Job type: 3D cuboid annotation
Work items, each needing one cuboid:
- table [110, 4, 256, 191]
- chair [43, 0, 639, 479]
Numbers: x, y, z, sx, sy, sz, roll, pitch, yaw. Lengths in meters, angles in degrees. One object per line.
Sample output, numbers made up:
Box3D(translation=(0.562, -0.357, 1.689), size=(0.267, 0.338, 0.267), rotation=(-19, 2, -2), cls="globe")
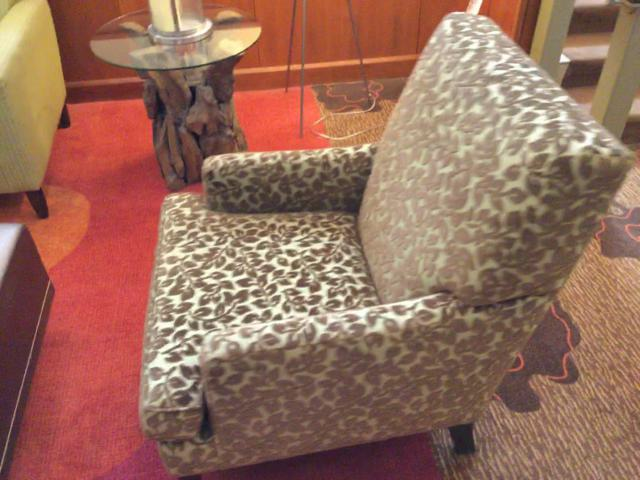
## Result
Box3D(translation=(-0.540, -0.590, 2.380), size=(0.490, 0.590, 0.450), rotation=(-5, 41, -11), cls="table")
Box3D(translation=(0.010, 0.010, 1.440), size=(0.910, 0.960, 0.800), rotation=(-2, 41, -7), cls="chair")
